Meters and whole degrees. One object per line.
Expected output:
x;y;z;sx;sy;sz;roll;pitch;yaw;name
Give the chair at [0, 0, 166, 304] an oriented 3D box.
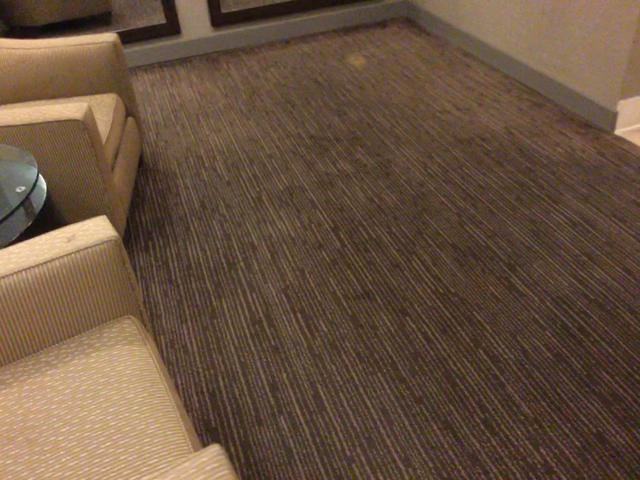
-1.200;-0.420;2.140;0.940;0.930;0.910;-9;40;-2;chair
